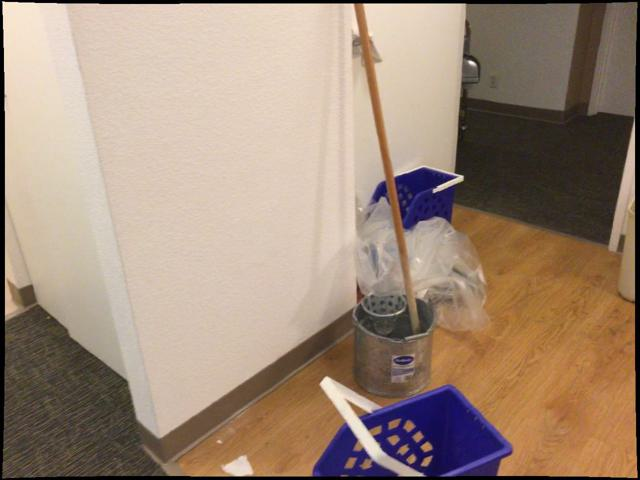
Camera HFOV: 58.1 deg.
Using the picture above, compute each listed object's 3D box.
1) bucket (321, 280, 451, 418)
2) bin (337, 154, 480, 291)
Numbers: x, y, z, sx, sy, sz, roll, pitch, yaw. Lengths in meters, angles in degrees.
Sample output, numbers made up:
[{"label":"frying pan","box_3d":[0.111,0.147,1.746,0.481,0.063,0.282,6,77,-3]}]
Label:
[{"label":"bucket","box_3d":[0.229,0.361,1.990,0.330,0.261,0.280,21,38,39]},{"label":"bin","box_3d":[0.429,-0.110,2.720,0.350,0.361,0.629,21,38,39]}]
